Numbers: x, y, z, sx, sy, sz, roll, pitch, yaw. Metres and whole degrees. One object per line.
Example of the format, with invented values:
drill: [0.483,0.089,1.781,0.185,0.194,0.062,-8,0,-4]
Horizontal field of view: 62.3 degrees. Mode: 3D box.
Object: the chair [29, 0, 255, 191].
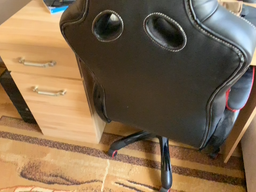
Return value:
chair: [0.200,-0.090,0.970,0.690,1.170,0.660,14,48,15]
